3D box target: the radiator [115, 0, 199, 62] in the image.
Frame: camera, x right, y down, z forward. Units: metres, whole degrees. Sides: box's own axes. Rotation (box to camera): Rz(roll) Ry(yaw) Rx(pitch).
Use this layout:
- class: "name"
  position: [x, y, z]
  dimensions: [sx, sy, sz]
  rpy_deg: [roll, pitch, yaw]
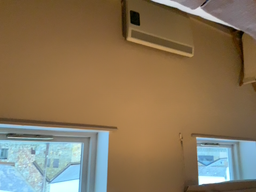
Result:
- class: "radiator"
  position: [0.270, -0.630, 1.810]
  dimensions: [0.750, 0.520, 0.140]
  rpy_deg: [9, 164, -27]
